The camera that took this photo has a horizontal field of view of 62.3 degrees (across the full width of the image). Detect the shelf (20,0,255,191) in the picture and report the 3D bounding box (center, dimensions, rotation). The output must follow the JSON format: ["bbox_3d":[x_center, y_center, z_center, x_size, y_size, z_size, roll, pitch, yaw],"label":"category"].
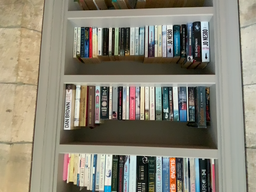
[{"bbox_3d":[0.050,0.160,1.200,1.050,2.160,0.440,1,173,4],"label":"shelf"}]
